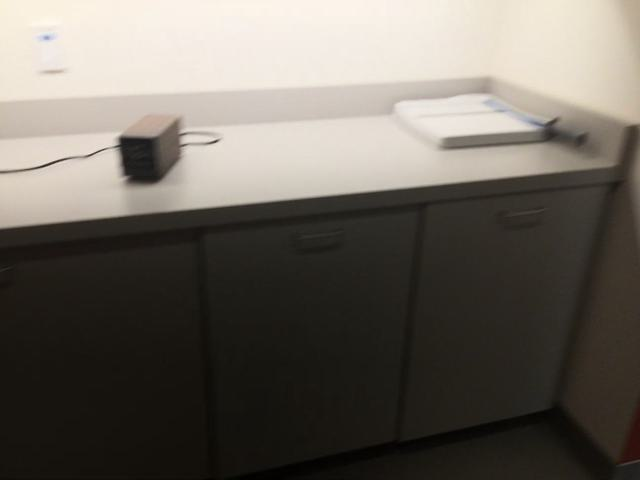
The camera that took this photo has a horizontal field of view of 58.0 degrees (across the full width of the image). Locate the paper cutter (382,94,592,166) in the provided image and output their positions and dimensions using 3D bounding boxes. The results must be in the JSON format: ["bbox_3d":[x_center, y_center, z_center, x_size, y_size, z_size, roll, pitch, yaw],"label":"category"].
[{"bbox_3d":[0.430,-0.320,1.600,0.350,0.060,0.490,-8,26,-15],"label":"paper cutter"}]

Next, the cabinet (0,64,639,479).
[{"bbox_3d":[-0.320,0.130,1.520,2.010,0.970,0.630,-8,26,-15],"label":"cabinet"}]
